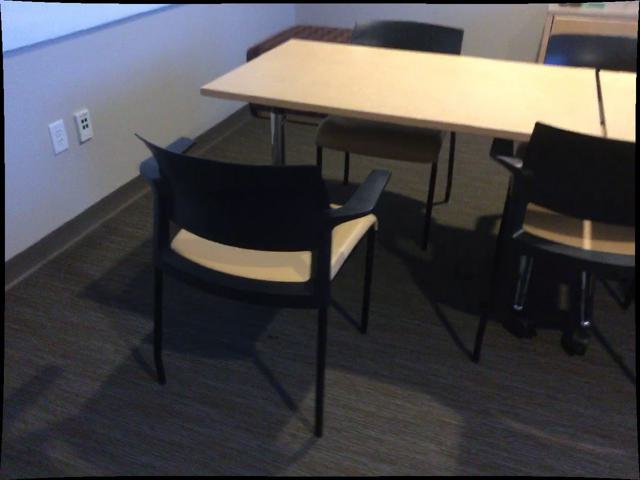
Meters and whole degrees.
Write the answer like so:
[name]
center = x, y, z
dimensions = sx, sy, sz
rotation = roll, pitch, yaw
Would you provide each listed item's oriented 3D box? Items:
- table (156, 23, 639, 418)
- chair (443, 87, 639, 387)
[table]
center = 0.839, -0.130, 1.990
dimensions = 2.447, 0.751, 1.080
rotation = 13, 34, 16
[chair]
center = 0.739, -0.030, 1.740
dimensions = 0.559, 0.671, 0.450
rotation = 13, 34, 17
